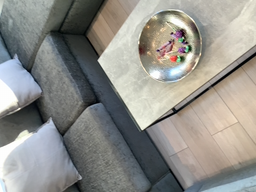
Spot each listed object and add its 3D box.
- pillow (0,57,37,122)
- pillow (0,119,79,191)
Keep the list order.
[{"bbox_3d":[-1.060,-0.080,1.780,0.210,0.480,0.550,-56,42,30],"label":"pillow"},{"bbox_3d":[-0.710,0.540,1.660,0.310,0.550,0.550,-44,43,39],"label":"pillow"}]
